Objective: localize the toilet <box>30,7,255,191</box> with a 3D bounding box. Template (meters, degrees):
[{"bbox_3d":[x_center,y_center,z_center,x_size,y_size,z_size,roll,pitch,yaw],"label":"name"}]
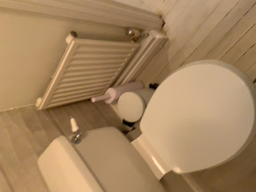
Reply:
[{"bbox_3d":[0.190,0.160,0.870,0.500,0.780,0.690,50,123,17],"label":"toilet"}]
